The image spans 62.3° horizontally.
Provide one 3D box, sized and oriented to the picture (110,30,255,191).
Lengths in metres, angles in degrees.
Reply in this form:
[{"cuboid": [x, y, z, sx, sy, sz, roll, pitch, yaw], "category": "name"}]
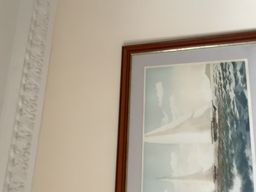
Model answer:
[{"cuboid": [0.280, 0.260, 0.950, 0.050, 0.740, 1.100, 26, -114, -65], "category": "picture"}]
